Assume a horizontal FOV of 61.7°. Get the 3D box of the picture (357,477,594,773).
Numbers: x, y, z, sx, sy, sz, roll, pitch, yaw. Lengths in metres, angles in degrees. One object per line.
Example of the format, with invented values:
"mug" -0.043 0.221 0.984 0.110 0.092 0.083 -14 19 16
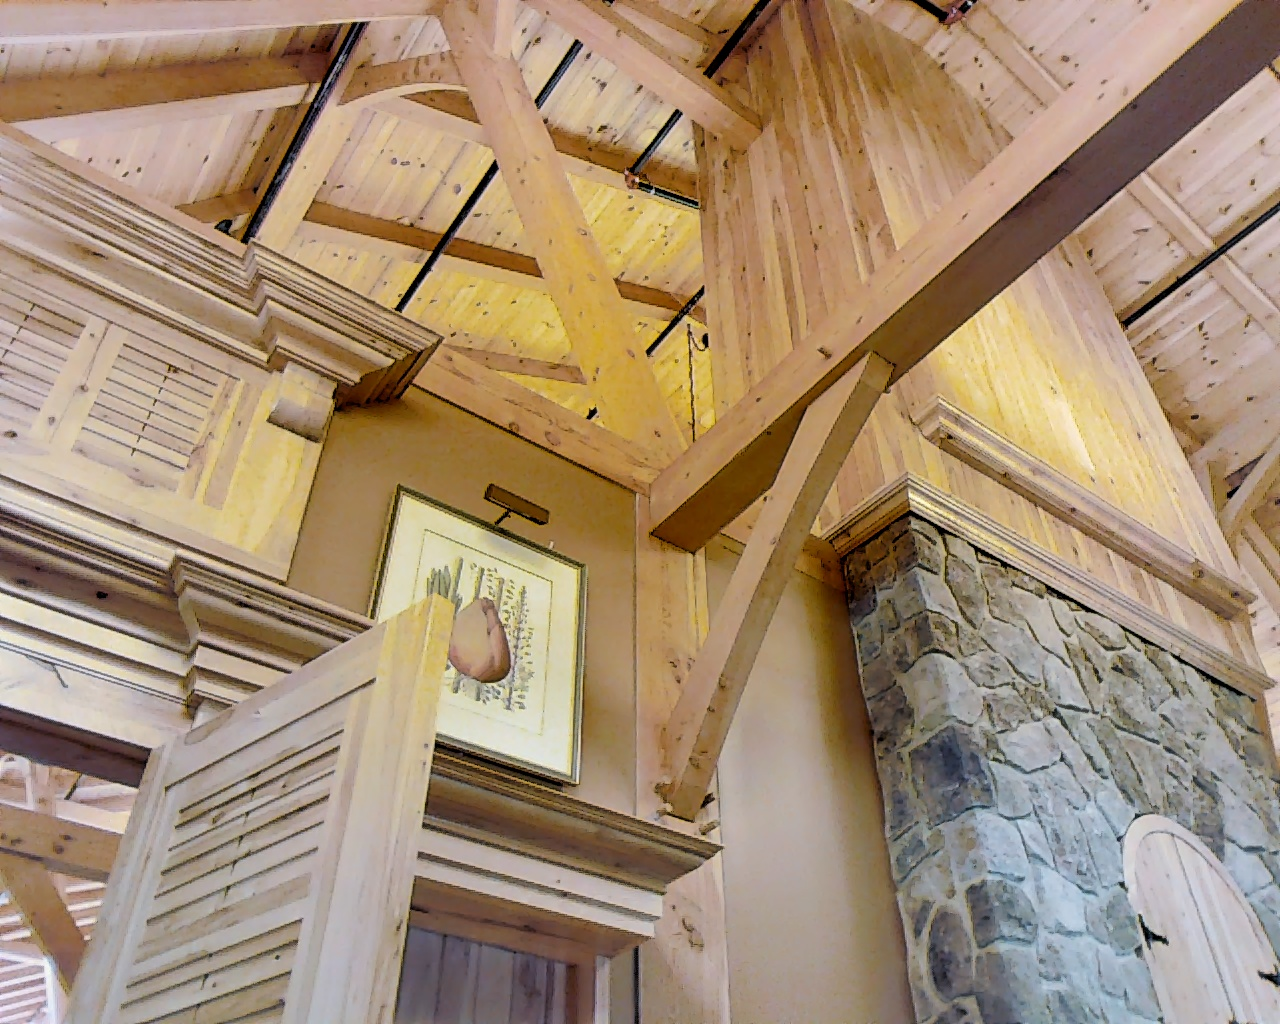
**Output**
"picture" -0.440 0.320 3.150 0.690 0.760 0.030 26 -48 -26
